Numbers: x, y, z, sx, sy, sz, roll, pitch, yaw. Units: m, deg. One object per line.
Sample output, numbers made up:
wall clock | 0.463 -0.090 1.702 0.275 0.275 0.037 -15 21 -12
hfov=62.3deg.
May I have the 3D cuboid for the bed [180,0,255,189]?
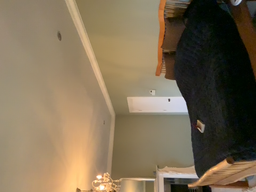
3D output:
bed | 1.470 0.040 3.200 2.290 0.840 2.320 81 -170 -62
